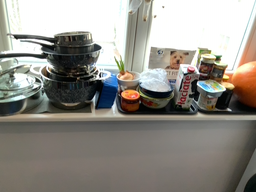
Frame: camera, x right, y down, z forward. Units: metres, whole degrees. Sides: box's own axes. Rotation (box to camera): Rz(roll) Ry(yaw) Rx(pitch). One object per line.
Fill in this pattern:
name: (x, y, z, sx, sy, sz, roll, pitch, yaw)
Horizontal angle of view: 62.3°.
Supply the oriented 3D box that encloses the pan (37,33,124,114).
pan: (-0.200, -0.110, 0.980, 0.330, 0.280, 0.240, 4, 28, -6)
